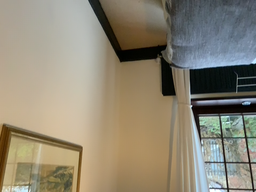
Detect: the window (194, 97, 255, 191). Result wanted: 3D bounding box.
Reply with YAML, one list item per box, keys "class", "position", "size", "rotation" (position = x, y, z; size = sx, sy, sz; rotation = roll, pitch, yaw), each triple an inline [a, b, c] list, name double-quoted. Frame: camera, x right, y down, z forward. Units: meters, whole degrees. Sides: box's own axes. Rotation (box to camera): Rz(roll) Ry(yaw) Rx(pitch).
- class: "window"
  position: [1.310, 0.730, 2.180]
  size: [1.090, 1.480, 0.050]
  rotation: [-3, 162, 13]

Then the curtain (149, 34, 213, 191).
- class: "curtain"
  position: [0.520, 0.490, 2.150]
  size: [0.540, 2.400, 0.140]
  rotation: [-4, 162, 13]
